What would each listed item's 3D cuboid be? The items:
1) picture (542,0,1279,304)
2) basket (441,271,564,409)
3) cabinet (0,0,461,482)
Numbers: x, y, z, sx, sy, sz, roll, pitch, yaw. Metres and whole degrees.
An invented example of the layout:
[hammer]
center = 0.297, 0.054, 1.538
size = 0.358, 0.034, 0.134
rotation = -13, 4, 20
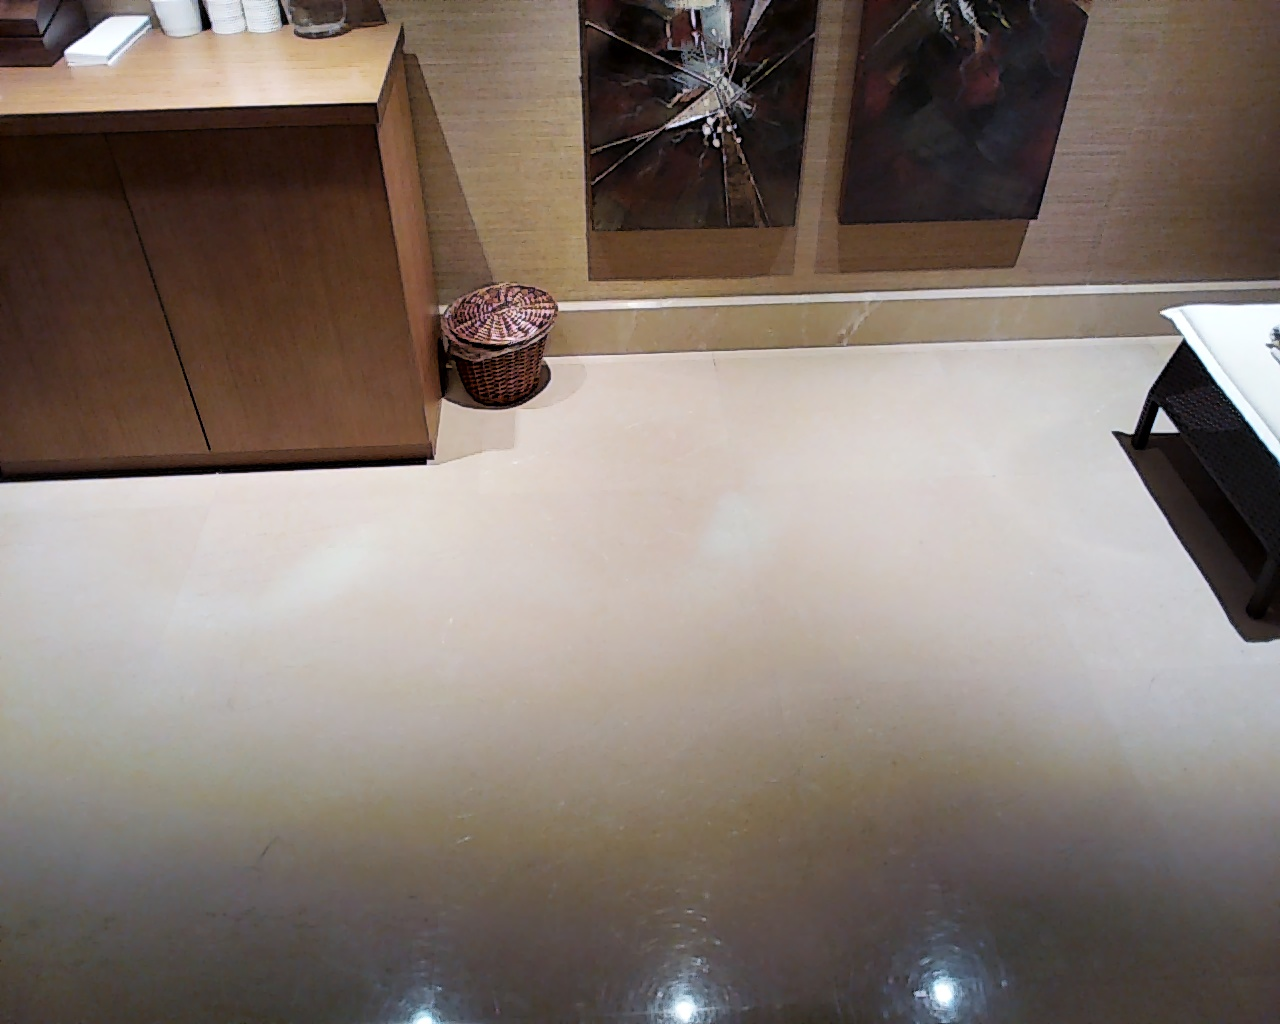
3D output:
[picture]
center = 0.690, -1.440, 2.090
size = 1.810, 2.250, 0.080
rotation = -3, 42, -2
[basket]
center = -0.340, -0.440, 2.740
size = 0.280, 0.230, 0.270
rotation = -2, 42, -2
[cabinet]
center = -1.010, -0.590, 2.400
size = 1.090, 0.900, 0.490
rotation = -3, 42, -3
